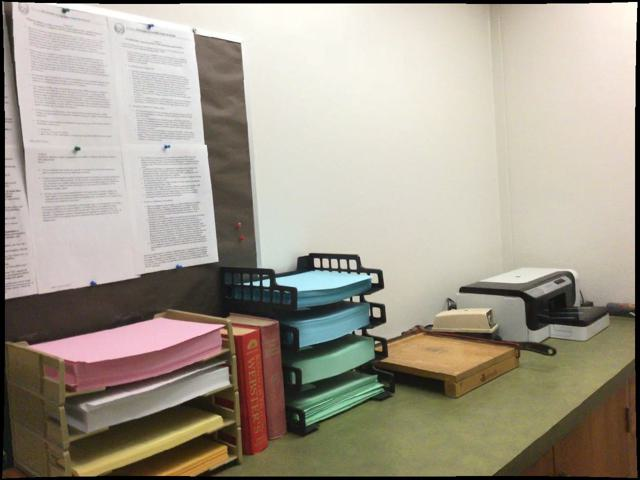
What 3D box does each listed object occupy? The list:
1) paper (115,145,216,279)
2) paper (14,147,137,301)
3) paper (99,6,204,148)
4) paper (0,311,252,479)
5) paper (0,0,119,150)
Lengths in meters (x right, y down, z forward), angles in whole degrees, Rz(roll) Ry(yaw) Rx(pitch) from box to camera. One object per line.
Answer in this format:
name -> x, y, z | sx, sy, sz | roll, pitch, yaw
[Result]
paper -> -0.349, -0.070, 1.330 | 0.030, 0.291, 0.220 | 1, 7, 44
paper -> -0.489, -0.040, 1.170 | 0.030, 0.291, 0.210 | 1, 7, 44
paper -> -0.379, -0.361, 1.320 | 0.040, 0.291, 0.220 | 1, 7, 44
paper -> -0.379, 0.331, 1.120 | 0.270, 0.291, 0.390 | 1, 7, 44
paper -> -0.529, -0.331, 1.160 | 0.050, 0.291, 0.210 | 1, 7, 44
